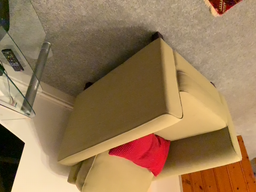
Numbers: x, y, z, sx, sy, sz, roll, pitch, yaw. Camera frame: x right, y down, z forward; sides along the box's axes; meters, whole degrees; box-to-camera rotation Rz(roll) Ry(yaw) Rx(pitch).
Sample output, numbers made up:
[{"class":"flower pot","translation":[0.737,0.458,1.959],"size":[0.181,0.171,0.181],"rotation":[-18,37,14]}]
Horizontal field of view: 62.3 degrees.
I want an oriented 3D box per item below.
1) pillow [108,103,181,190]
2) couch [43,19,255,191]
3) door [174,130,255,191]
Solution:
[{"class":"pillow","translation":[0.130,0.340,1.420],"size":[0.170,0.270,0.490],"rotation":[-28,106,33]},{"class":"couch","translation":[0.120,0.260,1.480],"size":[1.000,0.800,0.810],"rotation":[-27,137,34]},{"class":"door","translation":[0.940,1.170,2.120],"size":[0.780,1.580,0.100],"rotation":[-19,141,25]}]
